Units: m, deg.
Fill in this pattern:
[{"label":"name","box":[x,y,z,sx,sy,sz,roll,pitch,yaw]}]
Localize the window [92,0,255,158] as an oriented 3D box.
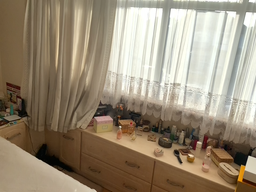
[{"label":"window","box":[0.500,-0.550,1.810,1.920,1.820,0.080,15,20,28]}]
